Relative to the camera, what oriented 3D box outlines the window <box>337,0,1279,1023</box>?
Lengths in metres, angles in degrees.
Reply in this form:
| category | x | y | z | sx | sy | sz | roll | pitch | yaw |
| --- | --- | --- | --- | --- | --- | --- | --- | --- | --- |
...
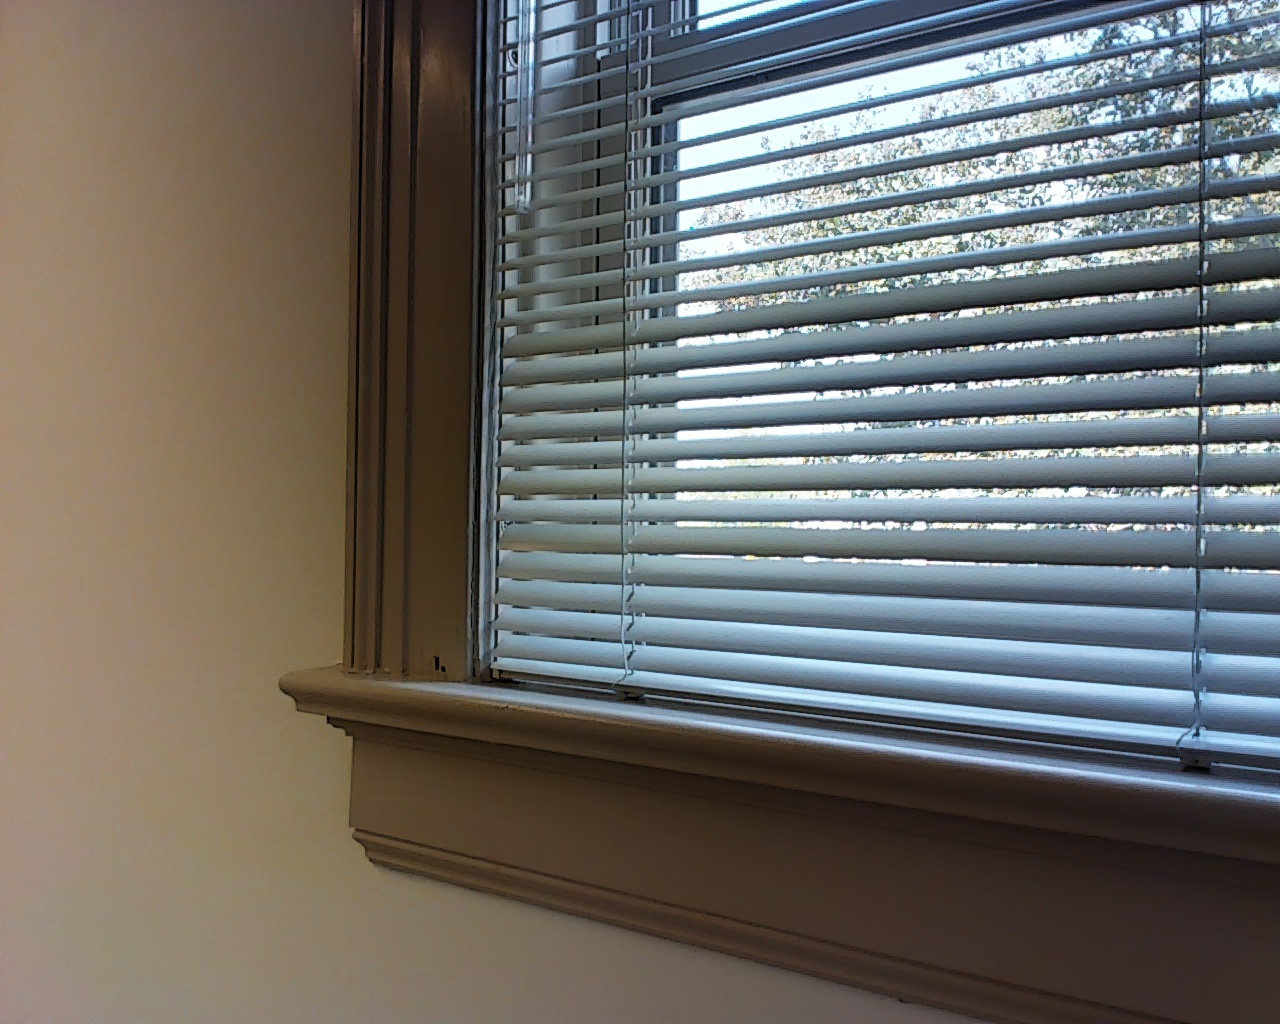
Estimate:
| category | x | y | z | sx | sy | sz | roll | pitch | yaw |
| --- | --- | --- | --- | --- | --- | --- | --- | --- | --- |
| window | 0.200 | -0.330 | 0.680 | 0.840 | 1.190 | 0.230 | 1 | -1 | 33 |
